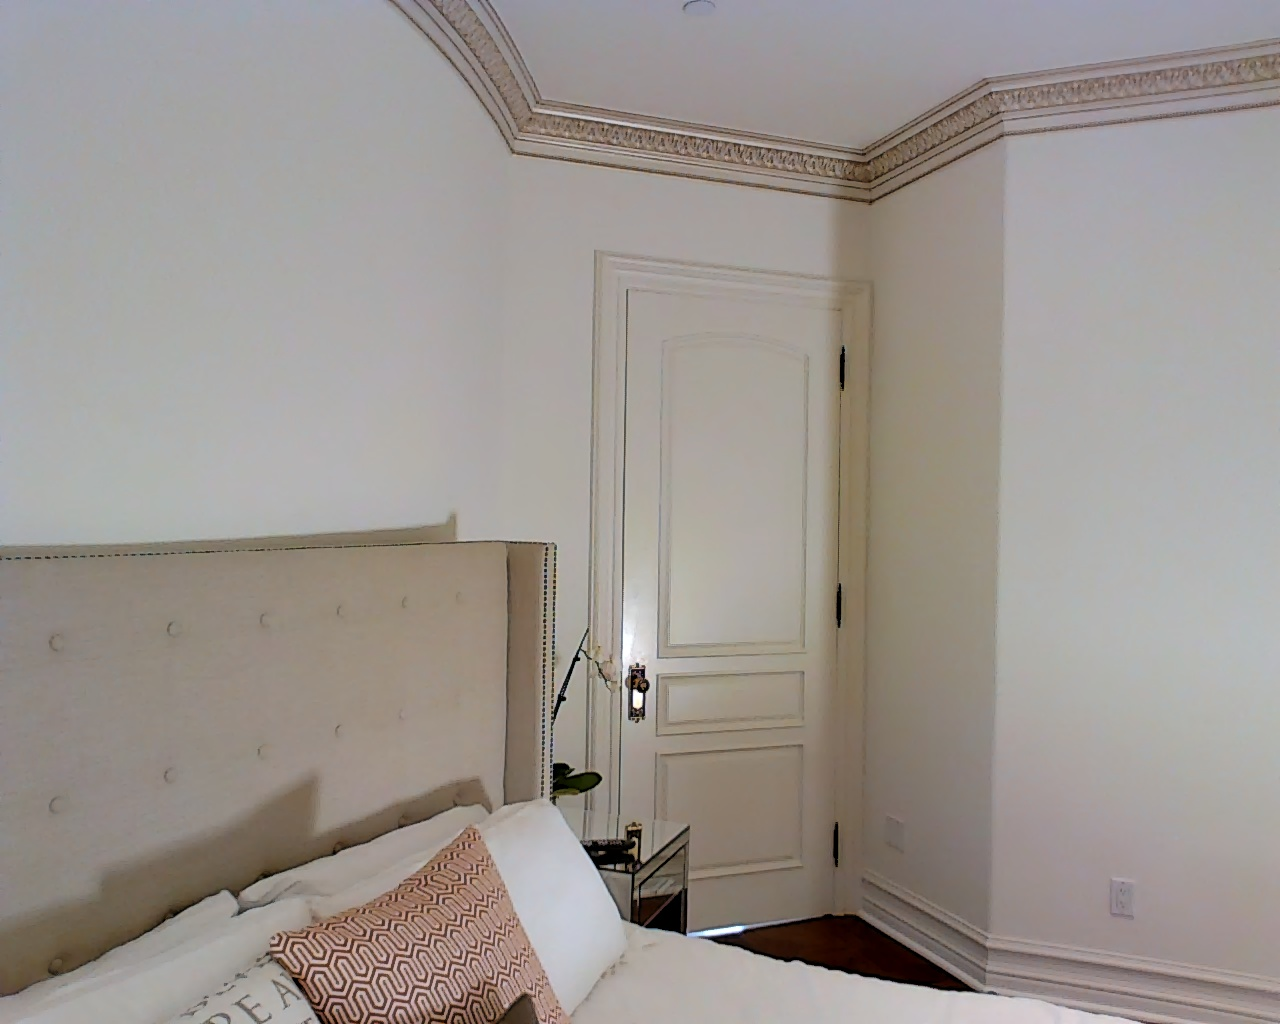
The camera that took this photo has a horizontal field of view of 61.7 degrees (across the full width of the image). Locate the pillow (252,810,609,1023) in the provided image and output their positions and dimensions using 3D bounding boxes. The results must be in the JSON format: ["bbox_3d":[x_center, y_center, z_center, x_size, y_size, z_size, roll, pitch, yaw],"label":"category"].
[{"bbox_3d":[-0.310,0.790,1.740,0.240,0.440,0.440,-29,-11,19],"label":"pillow"}]

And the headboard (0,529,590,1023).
[{"bbox_3d":[-0.620,0.660,2.110,0.240,1.230,1.960,1,0,22],"label":"headboard"}]
